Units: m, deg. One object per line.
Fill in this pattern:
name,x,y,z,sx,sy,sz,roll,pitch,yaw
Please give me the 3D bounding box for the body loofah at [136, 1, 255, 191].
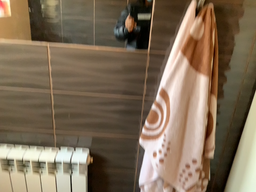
body loofah,0.300,0.120,0.960,0.430,0.970,0.190,5,23,0
